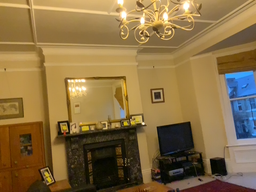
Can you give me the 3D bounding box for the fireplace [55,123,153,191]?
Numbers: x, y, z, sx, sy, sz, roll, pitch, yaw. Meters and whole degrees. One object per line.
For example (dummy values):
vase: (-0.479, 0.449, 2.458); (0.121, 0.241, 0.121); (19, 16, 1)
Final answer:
fireplace: (-0.490, 1.300, 4.330); (1.770, 1.270, 0.640); (-4, -7, -23)
